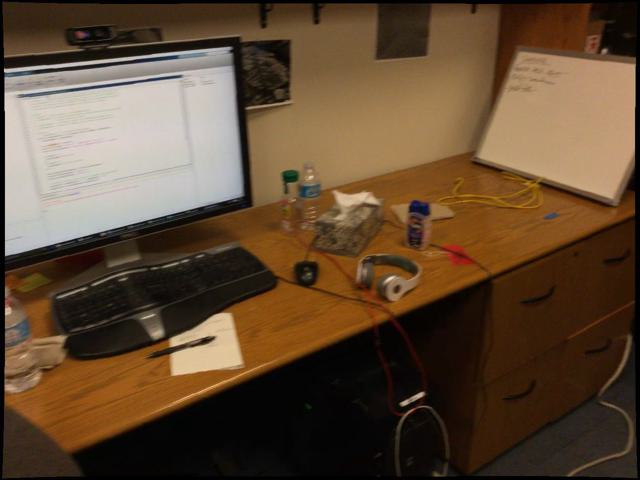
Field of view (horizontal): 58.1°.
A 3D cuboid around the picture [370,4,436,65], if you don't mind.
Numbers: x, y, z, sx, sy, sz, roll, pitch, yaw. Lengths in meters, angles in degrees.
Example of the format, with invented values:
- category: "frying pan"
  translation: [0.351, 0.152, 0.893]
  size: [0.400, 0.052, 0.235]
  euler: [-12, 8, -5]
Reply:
- category: "picture"
  translation: [0.299, -0.742, 2.070]
  size: [0.270, 0.180, 0.040]
  euler: [-18, 31, -30]

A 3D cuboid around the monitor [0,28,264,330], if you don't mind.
- category: "monitor"
  translation: [-0.509, -0.170, 1.390]
  size: [0.719, 0.571, 0.160]
  euler: [-18, 31, -30]
